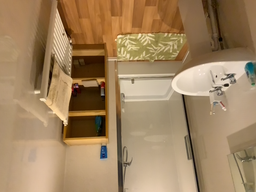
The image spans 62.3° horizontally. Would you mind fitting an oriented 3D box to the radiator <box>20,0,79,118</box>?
[{"bbox_3d":[-0.570,-0.310,1.720,0.200,0.810,0.660,-2,158,-3],"label":"radiator"}]
